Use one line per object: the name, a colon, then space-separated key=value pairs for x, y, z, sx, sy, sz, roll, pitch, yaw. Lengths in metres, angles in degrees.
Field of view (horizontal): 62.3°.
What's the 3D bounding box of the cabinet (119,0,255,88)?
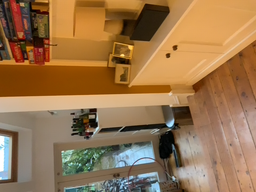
cabinet: x=0.520 y=-0.600 z=1.870 sx=1.340 sy=0.790 sz=0.560 roll=131 pitch=133 yaw=-61
